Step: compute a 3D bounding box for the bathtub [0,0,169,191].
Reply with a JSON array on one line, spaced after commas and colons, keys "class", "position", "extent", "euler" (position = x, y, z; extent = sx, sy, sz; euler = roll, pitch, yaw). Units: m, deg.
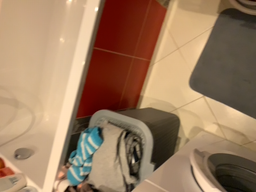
[{"class": "bathtub", "position": [-0.280, -0.330, 1.190], "extent": [0.670, 0.590, 1.490], "euler": [23, 104, 26]}]
